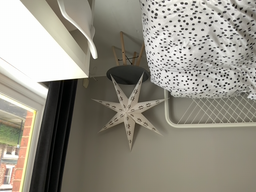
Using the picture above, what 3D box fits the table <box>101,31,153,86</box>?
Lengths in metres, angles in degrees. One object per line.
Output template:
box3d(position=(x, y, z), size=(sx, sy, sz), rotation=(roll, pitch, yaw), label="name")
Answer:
box3d(position=(0.010, -0.400, 2.390), size=(0.490, 0.400, 0.440), rotation=(-3, 159, 12), label="table")
